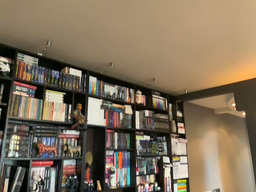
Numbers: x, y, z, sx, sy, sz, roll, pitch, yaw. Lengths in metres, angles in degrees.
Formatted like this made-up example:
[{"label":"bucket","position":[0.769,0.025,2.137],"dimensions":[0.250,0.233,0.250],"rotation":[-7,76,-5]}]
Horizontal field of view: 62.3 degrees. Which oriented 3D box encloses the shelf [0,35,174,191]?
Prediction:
[{"label":"shelf","position":[-0.540,0.520,2.450],"dimensions":[3.270,1.830,0.230],"rotation":[14,-20,-42]}]
